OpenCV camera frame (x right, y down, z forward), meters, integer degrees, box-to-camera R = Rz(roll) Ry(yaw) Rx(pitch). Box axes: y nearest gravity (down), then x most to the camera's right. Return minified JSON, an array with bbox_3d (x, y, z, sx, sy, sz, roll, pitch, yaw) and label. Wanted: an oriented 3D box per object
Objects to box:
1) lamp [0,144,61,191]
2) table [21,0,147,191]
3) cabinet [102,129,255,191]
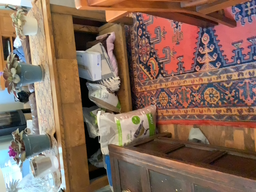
[{"bbox_3d":[-0.890,0.660,1.630,0.420,0.570,0.390,-2,94,49],"label":"lamp"},{"bbox_3d":[-0.390,0.010,2.000,0.590,0.840,1.590,-3,93,49],"label":"table"},{"bbox_3d":[0.390,0.560,1.380,1.070,0.570,0.510,-4,92,50],"label":"cabinet"}]
